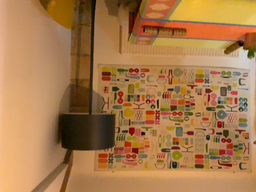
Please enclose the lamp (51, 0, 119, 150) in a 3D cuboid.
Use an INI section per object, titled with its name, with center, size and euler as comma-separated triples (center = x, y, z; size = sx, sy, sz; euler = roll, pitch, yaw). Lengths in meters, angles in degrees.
[lamp]
center = -0.380, -0.380, 2.100
size = 0.530, 1.700, 0.500
euler = 2, 178, -5
